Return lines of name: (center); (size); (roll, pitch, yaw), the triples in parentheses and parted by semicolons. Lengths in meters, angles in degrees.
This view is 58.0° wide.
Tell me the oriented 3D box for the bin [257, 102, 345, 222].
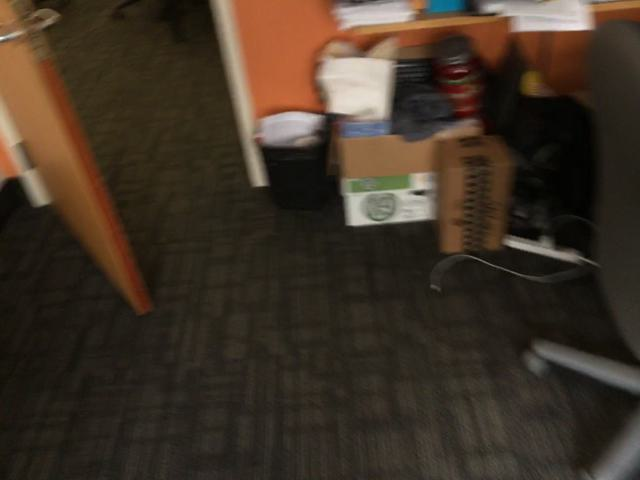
bin: (-0.070, -0.300, 2.230); (0.280, 0.370, 0.210); (-7, 33, 1)
